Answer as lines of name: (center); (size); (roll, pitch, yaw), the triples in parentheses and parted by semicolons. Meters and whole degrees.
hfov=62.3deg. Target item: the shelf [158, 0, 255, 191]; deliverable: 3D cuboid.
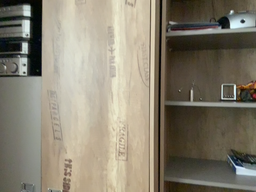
shelf: (0.430, 0.070, 1.050); (0.510, 1.260, 0.380); (1, 1, 14)
